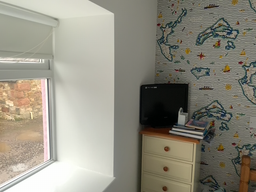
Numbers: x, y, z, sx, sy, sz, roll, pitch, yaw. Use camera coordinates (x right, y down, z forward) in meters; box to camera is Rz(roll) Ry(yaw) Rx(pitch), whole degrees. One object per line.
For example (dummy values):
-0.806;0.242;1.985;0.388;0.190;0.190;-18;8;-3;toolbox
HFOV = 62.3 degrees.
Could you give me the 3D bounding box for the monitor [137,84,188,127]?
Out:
0.300;0.070;1.780;0.480;0.340;0.020;-2;9;-25;monitor
